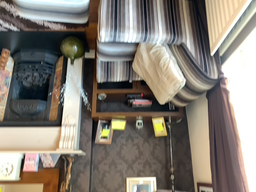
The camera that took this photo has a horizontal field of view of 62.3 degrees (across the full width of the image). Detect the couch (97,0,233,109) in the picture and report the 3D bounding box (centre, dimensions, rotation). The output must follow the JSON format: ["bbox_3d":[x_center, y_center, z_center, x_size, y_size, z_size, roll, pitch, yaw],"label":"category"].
[{"bbox_3d":[0.190,-0.400,1.740,0.840,0.820,0.720,2,160,-7],"label":"couch"}]
